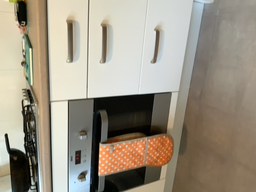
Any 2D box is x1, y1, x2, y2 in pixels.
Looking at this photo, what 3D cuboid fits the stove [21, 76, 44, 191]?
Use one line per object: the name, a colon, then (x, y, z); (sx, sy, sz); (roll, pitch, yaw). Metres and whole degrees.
stove: (-0.550, 0.230, 1.210); (0.550, 0.030, 0.580); (31, 121, 55)
